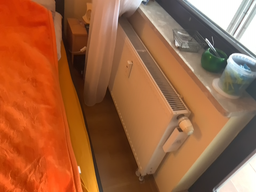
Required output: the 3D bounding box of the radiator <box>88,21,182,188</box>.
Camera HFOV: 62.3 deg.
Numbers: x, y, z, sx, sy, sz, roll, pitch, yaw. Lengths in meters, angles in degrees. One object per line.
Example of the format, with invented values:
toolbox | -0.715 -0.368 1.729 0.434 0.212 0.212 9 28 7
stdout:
radiator | -0.060 0.030 1.450 0.130 0.700 0.900 -7 46 -25
